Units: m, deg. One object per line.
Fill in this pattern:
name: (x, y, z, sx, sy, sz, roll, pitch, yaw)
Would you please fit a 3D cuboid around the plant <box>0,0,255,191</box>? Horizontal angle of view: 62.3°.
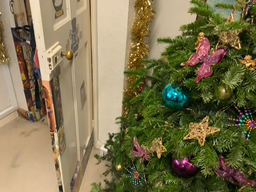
plant: (0.420, 0.030, 1.090, 1.330, 1.950, 1.390, 16, 33, 17)
